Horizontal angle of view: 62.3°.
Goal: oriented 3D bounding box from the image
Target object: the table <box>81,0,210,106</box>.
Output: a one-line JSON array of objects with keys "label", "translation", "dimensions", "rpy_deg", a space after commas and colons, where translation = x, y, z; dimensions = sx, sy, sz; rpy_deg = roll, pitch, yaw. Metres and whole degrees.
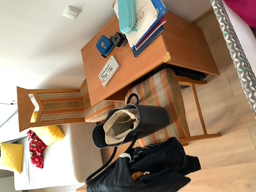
[{"label": "table", "translation": [0.130, -0.260, 1.560], "dimensions": [0.500, 0.710, 0.510], "rpy_deg": [-28, 67, 41]}]

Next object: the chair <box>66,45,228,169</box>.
[{"label": "chair", "translation": [0.160, 0.100, 1.350], "dimensions": [0.430, 0.910, 0.480], "rpy_deg": [-31, 65, 40]}]

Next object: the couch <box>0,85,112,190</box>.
[{"label": "couch", "translation": [-1.280, 0.720, 2.980], "dimensions": [2.360, 0.650, 0.960], "rpy_deg": [-23, 70, 42]}]
